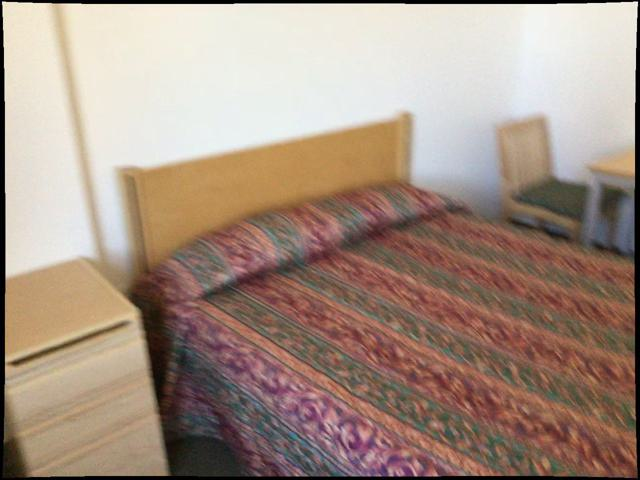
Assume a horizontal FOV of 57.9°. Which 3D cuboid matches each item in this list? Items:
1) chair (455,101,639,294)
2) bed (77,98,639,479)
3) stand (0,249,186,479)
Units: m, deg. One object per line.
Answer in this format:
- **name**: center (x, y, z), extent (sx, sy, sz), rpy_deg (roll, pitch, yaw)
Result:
- **chair**: center (1.339, -0.300, 3.380), extent (0.590, 0.821, 0.870), rpy_deg (-19, 28, -31)
- **bed**: center (0.480, 0.260, 2.010), extent (1.809, 0.981, 2.139), rpy_deg (-19, 28, -31)
- **stand**: center (-0.819, 0.501, 1.940), extent (0.440, 0.701, 0.580), rpy_deg (-19, 28, -31)
